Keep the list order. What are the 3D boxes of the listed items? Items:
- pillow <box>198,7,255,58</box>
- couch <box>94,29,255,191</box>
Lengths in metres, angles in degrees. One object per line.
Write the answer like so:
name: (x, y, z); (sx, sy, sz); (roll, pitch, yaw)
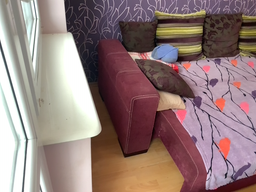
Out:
pillow: (1.150, -0.720, 2.460); (0.500, 0.460, 0.190); (0, 33, -30)
couch: (1.080, -0.060, 2.040); (2.530, 0.630, 1.550); (-7, 37, -17)
